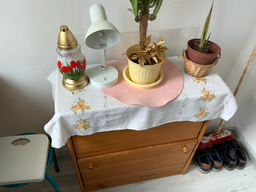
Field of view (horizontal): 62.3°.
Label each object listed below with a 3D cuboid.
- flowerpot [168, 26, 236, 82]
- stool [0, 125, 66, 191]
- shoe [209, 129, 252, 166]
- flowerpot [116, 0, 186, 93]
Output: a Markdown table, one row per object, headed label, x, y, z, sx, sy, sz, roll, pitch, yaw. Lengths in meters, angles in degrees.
| label | x | y | z | sx | sy | sz | roll | pitch | yaw |
| --- | --- | --- | --- | --- | --- | --- | --- | --- | --- |
| flowerpot | 0.320 | -0.200 | 0.970 | 0.180 | 0.120 | 0.260 | -5 | 44 | -9 |
| stool | -0.540 | 0.430 | 1.160 | 0.290 | 0.480 | 0.270 | -4 | 43 | -7 |
| shoe | 0.740 | 0.370 | 1.550 | 0.180 | 0.080 | 0.240 | -3 | 43 | -6 |
| flowerpot | 0.070 | -0.350 | 0.800 | 0.200 | 0.670 | 0.240 | -5 | 44 | -9 |
